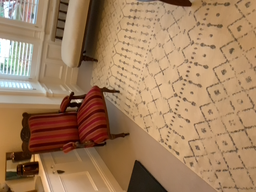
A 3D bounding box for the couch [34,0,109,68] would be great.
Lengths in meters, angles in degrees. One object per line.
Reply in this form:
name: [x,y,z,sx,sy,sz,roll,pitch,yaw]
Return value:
couch: [-0.830,-1.310,3.130,0.740,0.770,1.550,35,116,51]
